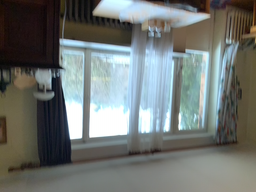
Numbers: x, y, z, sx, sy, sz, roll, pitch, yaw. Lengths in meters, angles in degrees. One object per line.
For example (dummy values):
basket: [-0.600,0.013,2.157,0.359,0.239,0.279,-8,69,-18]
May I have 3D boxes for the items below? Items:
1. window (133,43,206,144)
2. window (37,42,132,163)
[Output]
window: [0.820,-0.040,3.980,1.480,1.700,0.180,0,-175,-29]
window: [-0.600,0.090,3.070,1.300,1.550,0.230,0,-175,-25]
